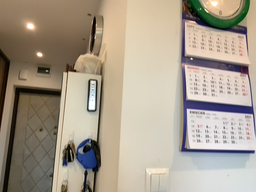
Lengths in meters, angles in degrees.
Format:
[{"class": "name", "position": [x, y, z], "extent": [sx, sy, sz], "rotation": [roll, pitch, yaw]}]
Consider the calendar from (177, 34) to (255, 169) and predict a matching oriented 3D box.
[{"class": "calendar", "position": [0.360, 0.030, 0.800], "extent": [0.350, 0.460, 0.060], "rotation": [6, -9, -18]}]
